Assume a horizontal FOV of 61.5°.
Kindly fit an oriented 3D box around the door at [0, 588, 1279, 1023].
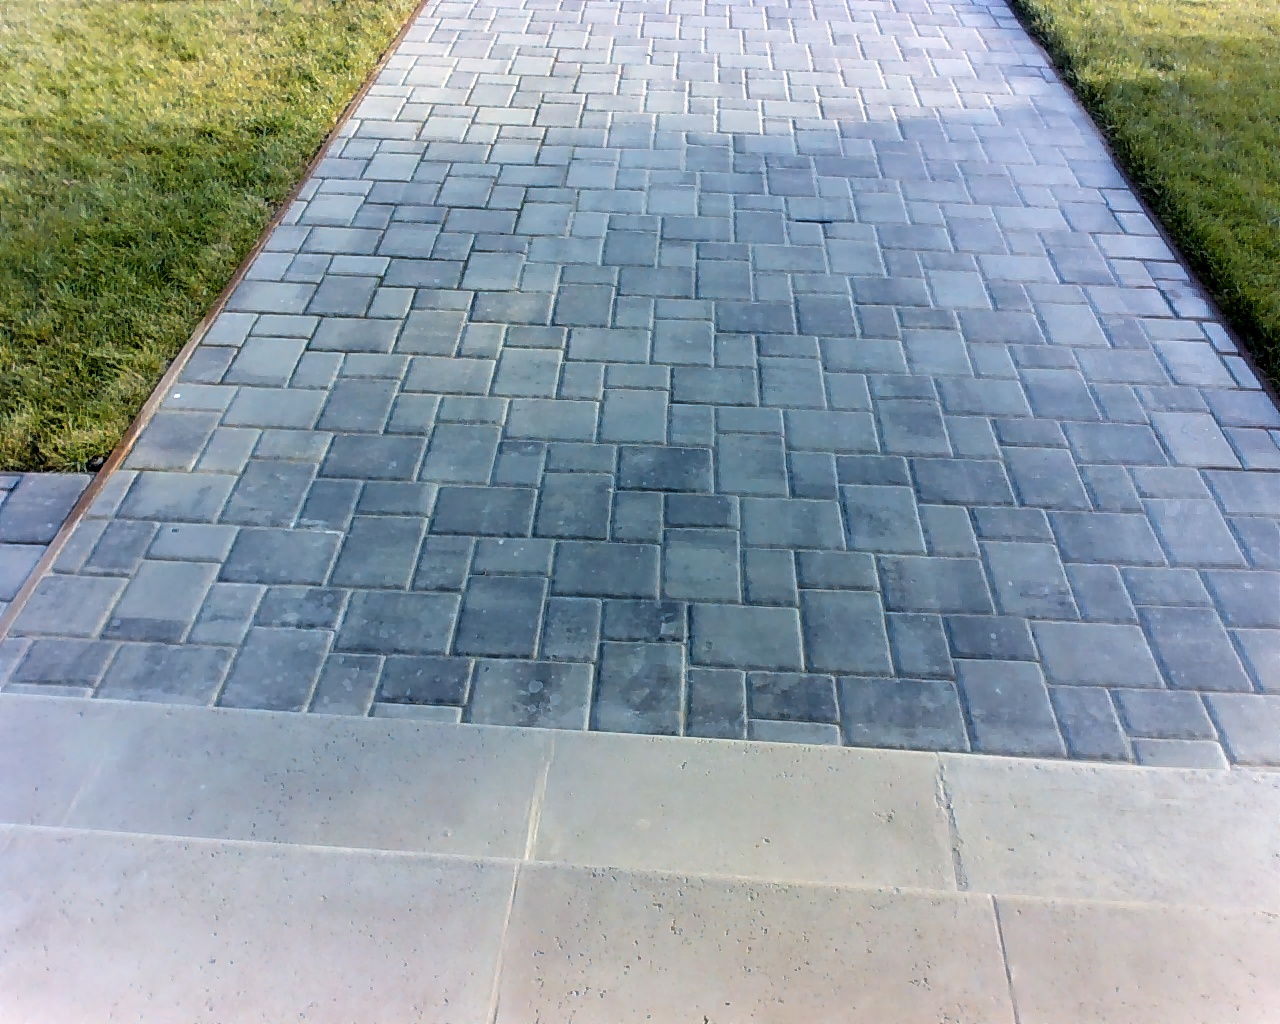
[{"bbox_3d":[0.160,0.660,2.060,3.890,0.380,0.880,2,42,1],"label":"door"}]
